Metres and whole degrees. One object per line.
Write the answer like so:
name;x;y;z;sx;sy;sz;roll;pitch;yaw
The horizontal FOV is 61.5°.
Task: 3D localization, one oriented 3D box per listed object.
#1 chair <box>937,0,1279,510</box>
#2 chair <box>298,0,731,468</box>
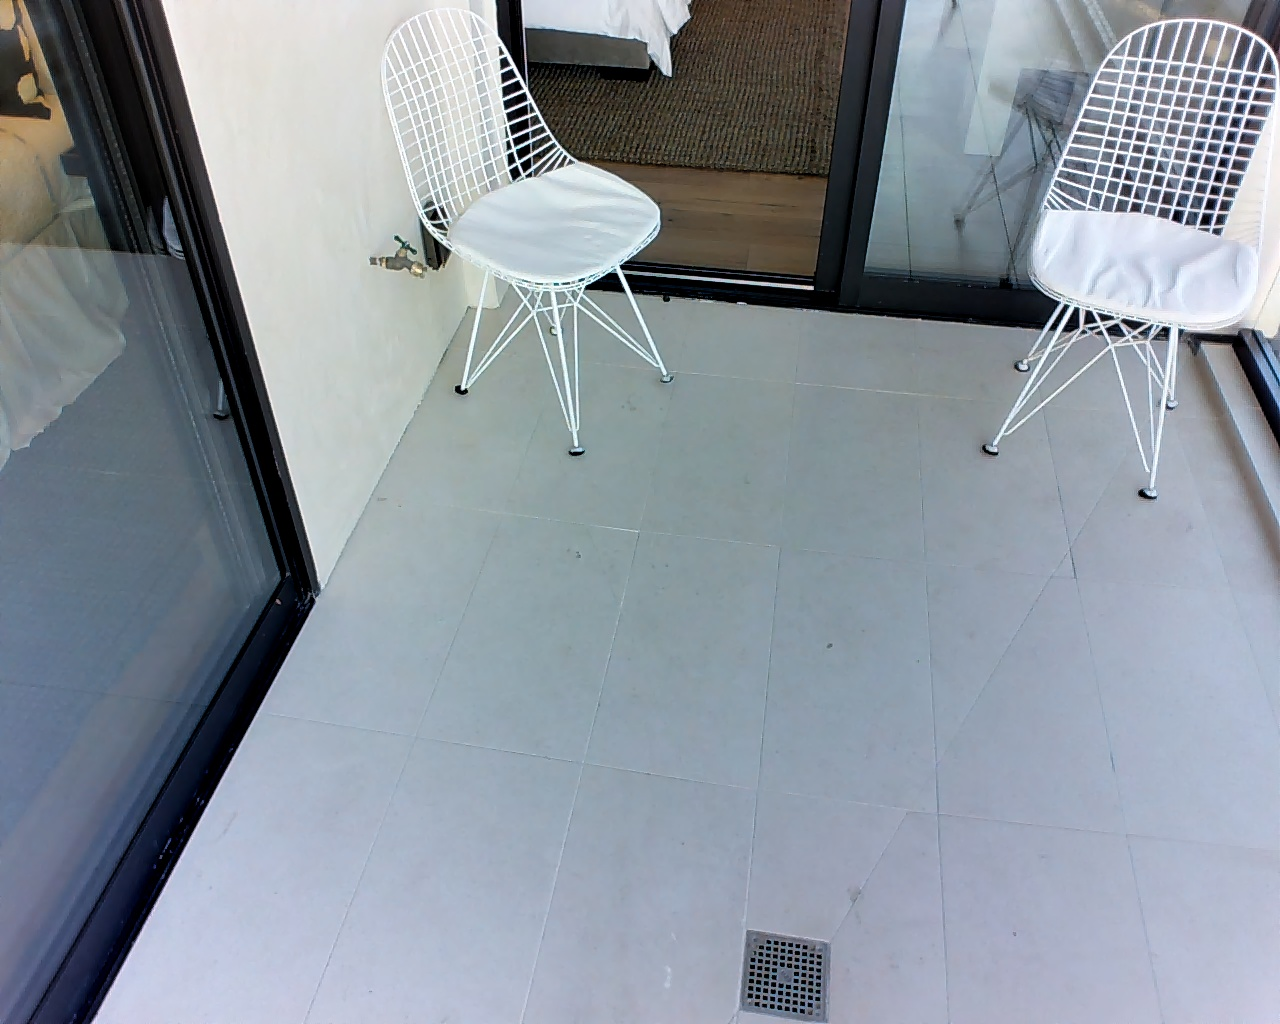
chair;1.120;-0.620;2.390;0.580;0.890;0.660;19;45;20
chair;-0.250;-0.700;2.510;0.660;0.830;0.610;24;47;24
